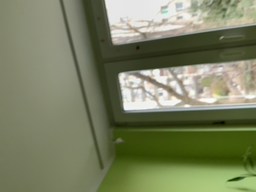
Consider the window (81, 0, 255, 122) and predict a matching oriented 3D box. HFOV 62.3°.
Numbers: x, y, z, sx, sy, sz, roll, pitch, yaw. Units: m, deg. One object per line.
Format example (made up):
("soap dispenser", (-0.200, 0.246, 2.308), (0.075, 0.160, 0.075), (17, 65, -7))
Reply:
("window", (0.550, -0.510, 1.320), (0.160, 1.710, 1.320), (-48, -48, -67))
